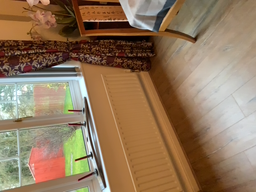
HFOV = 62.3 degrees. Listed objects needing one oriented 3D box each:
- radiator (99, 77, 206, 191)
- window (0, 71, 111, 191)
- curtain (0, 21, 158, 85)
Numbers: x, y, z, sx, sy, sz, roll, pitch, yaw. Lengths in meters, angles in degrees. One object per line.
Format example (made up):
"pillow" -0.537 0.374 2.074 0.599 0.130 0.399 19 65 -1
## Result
"radiator" 0.170 0.380 2.060 0.250 0.600 1.230 -60 42 49
"window" -0.930 0.480 1.700 0.080 1.430 1.640 -58 43 51
"curtain" -0.780 -0.400 2.010 0.230 2.230 0.510 -49 51 56
